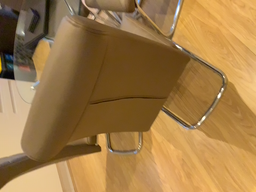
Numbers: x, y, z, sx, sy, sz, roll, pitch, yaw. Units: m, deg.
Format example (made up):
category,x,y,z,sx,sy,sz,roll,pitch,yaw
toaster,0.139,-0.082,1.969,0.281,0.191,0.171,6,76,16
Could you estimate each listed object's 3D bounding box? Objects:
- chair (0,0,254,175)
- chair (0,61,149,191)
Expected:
category,x,y,z,sx,sy,sz,roll,pitch,yaw
chair,0.020,-0.110,0.970,0.570,0.980,0.460,45,117,39
chair,-0.380,0.200,1.350,0.430,0.990,0.570,-17,74,44
